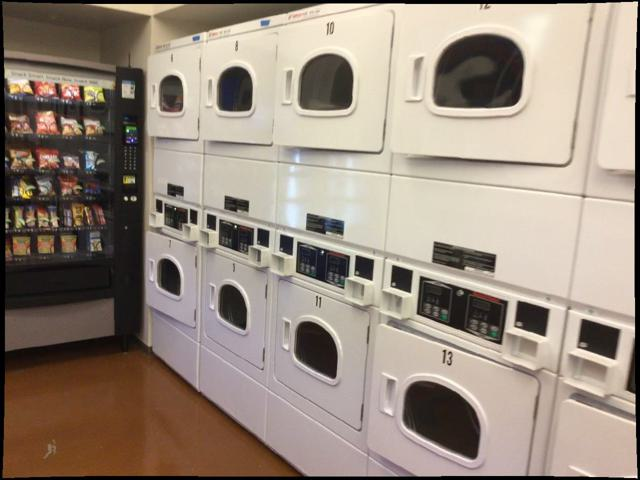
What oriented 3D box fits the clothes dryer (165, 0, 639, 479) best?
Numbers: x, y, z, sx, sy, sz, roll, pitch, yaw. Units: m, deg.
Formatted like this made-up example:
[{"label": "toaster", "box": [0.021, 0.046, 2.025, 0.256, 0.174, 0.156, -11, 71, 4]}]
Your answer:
[{"label": "clothes dryer", "box": [0.400, 0.000, 2.300, 0.820, 2.062, 2.959, -6, 14, -38]}]
